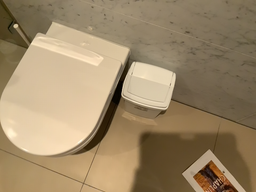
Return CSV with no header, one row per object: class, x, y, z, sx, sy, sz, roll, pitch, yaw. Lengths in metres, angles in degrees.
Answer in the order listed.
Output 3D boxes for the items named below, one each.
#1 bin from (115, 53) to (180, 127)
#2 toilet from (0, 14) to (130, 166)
bin,0.080,-0.010,1.060,0.220,0.340,0.200,21,72,4
toilet,-0.270,0.010,1.000,0.390,0.410,0.510,19,72,4
